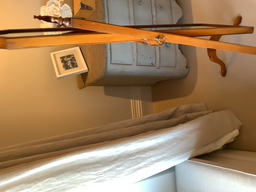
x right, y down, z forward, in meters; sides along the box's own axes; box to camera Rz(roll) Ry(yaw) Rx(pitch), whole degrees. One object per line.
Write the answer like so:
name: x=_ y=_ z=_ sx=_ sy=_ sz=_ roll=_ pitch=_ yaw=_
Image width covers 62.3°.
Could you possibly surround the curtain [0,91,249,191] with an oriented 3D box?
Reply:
curtain: x=-0.280 y=0.210 z=1.080 sx=0.490 sy=2.210 sz=0.320 roll=-18 pitch=77 yaw=58
